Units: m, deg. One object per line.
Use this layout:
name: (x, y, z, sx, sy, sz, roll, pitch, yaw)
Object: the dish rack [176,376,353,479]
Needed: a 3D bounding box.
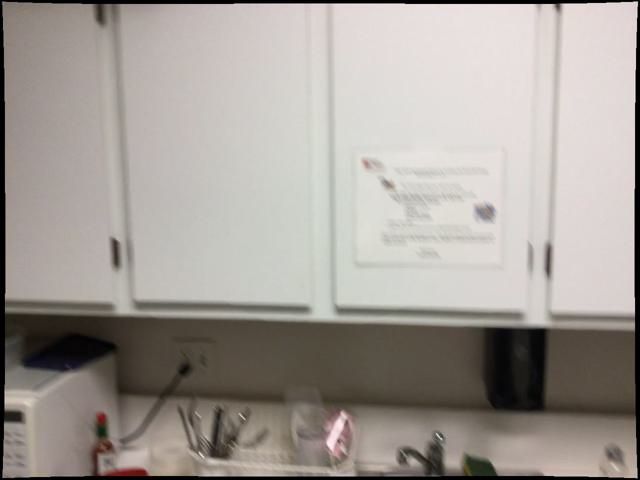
dish rack: (-0.110, 0.480, 1.370, 0.360, 0.190, 0.310, 1, 10, 6)
